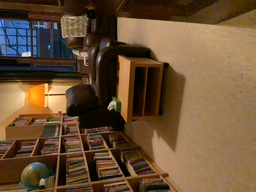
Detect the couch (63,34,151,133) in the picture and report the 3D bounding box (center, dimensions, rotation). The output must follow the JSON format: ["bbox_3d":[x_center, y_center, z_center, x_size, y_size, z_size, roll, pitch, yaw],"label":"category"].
[{"bbox_3d":[-0.390,-0.260,2.920,1.140,0.940,1.080,-136,48,-67],"label":"couch"}]
